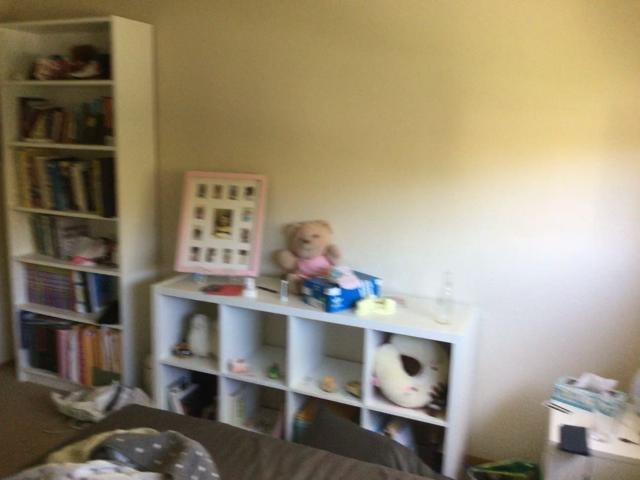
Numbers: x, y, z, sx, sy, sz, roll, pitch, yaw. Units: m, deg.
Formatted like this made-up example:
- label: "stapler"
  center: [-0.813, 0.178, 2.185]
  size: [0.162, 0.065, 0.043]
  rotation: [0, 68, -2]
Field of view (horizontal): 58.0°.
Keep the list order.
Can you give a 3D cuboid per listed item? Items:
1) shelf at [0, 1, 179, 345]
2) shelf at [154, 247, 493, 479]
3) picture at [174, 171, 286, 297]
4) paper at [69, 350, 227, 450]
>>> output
- label: "shelf"
  center: [-1.230, -0.340, 3.030]
  size: [0.860, 1.580, 0.400]
  rotation: [6, 11, 26]
- label: "shelf"
  center: [-0.030, 0.570, 2.620]
  size: [1.450, 0.870, 0.440]
  rotation: [6, 11, 26]
- label: "picture"
  center: [-0.420, -0.050, 2.750]
  size: [0.390, 0.520, 0.350]
  rotation: [6, 11, 26]
- label: "paper"
  center: [-0.890, 0.810, 3.030]
  size: [0.630, 0.210, 0.480]
  rotation: [6, 11, 26]
